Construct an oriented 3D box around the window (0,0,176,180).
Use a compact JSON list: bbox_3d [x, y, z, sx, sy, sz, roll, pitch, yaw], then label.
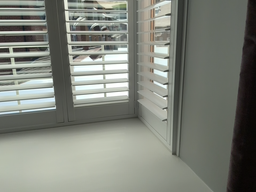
[{"bbox_3d":[-0.600,-0.360,1.060,1.760,1.600,0.210,-5,-164,-17],"label":"window"}]
